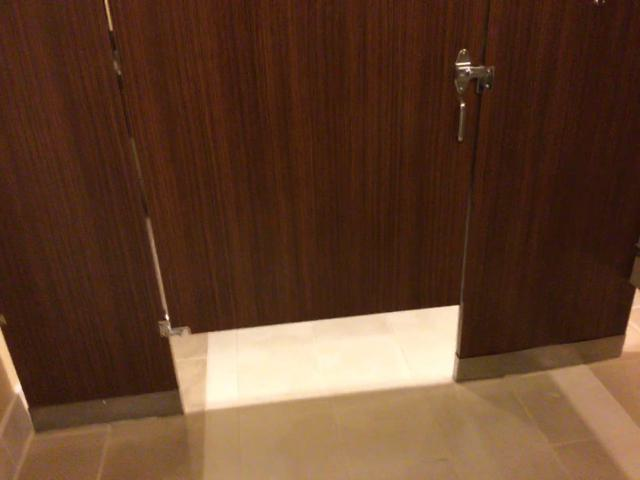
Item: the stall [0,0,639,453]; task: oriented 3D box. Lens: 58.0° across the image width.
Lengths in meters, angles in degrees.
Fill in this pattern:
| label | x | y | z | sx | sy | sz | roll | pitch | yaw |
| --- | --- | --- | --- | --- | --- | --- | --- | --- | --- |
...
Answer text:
| label | x | y | z | sx | sy | sz | roll | pitch | yaw |
| --- | --- | --- | --- | --- | --- | --- | --- | --- | --- |
| stall | 0.040 | -0.140 | 1.650 | 2.080 | 1.410 | 0.200 | -7 | 26 | -5 |
